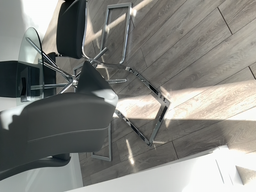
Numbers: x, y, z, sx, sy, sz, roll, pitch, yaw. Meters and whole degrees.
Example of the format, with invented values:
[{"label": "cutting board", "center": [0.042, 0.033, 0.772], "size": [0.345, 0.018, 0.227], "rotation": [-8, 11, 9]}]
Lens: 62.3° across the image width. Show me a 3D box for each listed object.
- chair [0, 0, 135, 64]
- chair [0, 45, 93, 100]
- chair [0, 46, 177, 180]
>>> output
[{"label": "chair", "center": [-0.530, -0.610, 1.680], "size": [0.480, 1.010, 0.540], "rotation": [23, 107, 50]}, {"label": "chair", "center": [-0.960, -0.190, 2.230], "size": [0.590, 0.990, 0.400], "rotation": [-11, 80, 51]}, {"label": "chair", "center": [-0.290, 0.060, 1.350], "size": [0.540, 1.010, 0.460], "rotation": [42, 120, 44]}]
